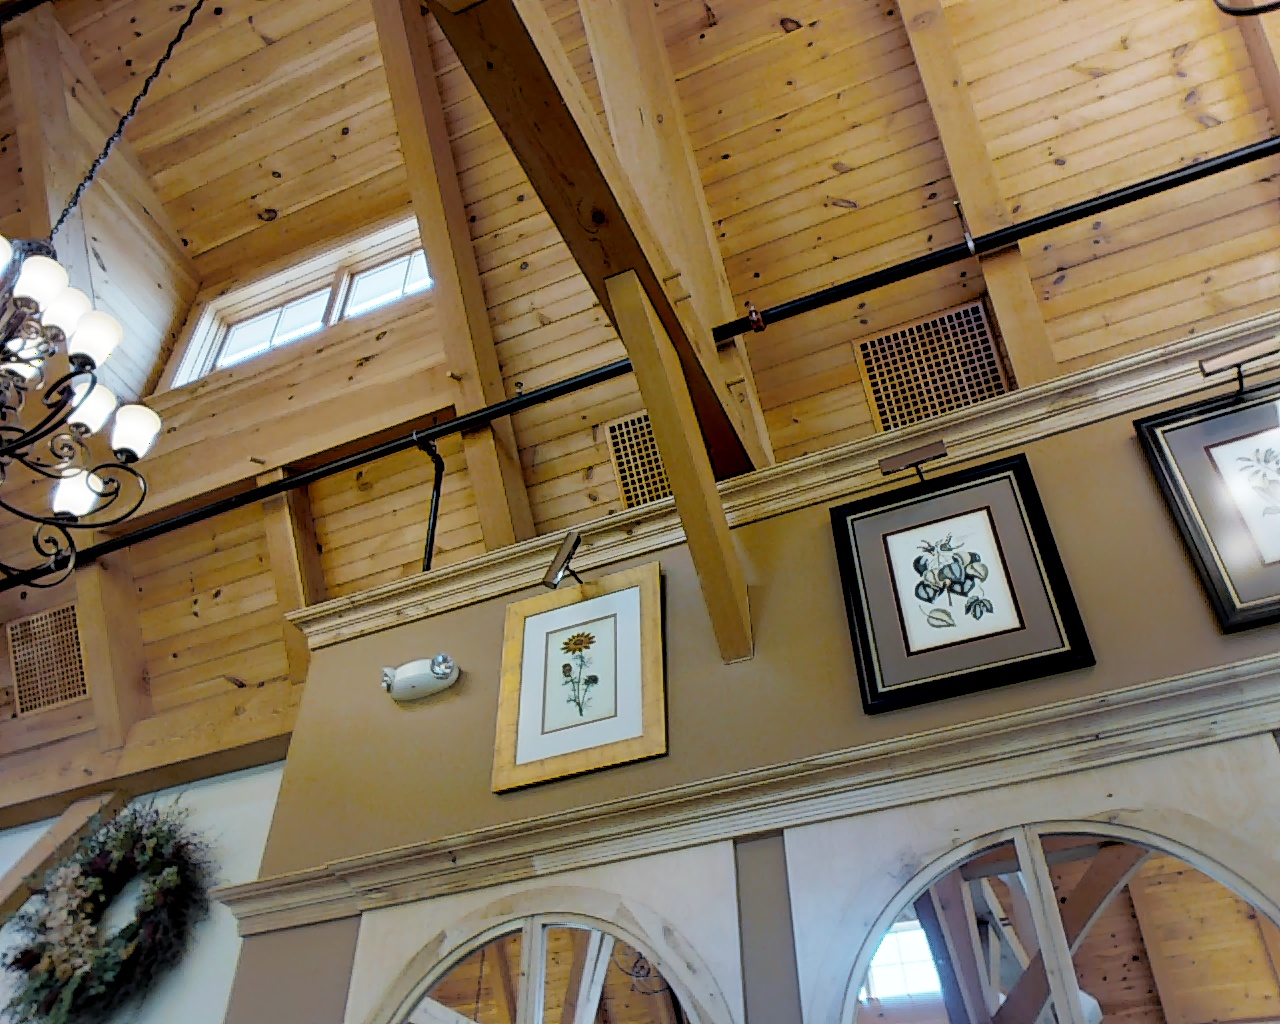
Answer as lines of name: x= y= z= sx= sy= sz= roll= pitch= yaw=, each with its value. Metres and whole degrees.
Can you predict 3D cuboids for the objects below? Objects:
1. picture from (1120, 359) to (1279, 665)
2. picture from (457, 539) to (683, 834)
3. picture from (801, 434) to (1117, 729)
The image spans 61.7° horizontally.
picture: x=1.779 y=-0.060 z=2.880 sx=0.670 sy=0.900 sz=0.070 roll=-17 pitch=-44 yaw=18
picture: x=-0.220 y=0.550 z=3.520 sx=0.720 sy=0.900 sz=0.080 roll=-17 pitch=-44 yaw=18
picture: x=0.890 y=0.190 z=3.150 sx=0.750 sy=0.780 sz=0.110 roll=-17 pitch=-44 yaw=18
